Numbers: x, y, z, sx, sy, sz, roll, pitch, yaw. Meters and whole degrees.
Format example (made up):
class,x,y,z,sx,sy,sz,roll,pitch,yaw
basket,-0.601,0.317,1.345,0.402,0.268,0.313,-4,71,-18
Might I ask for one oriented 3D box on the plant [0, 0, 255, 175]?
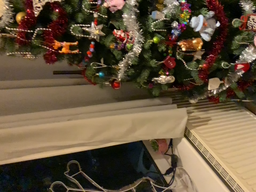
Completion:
class,x,y,z,sx,sy,sz,roll,pitch,yaw
plant,0.110,-0.420,1.290,1.020,1.680,0.920,-125,36,-50
